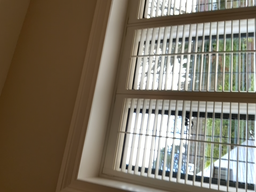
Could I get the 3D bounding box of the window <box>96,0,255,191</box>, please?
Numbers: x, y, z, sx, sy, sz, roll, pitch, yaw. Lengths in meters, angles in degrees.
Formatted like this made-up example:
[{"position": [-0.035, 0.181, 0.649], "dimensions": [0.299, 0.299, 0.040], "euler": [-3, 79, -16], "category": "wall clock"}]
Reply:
[{"position": [0.520, -0.670, 1.850], "dimensions": [0.070, 1.150, 2.840], "euler": [42, -126, -61], "category": "window"}]
